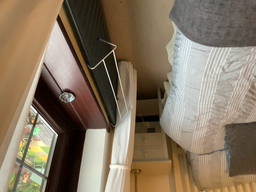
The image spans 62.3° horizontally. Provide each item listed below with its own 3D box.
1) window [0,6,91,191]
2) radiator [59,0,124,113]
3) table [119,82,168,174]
[{"bbox_3d":[-0.400,0.590,0.780,0.050,1.480,1.090,-4,144,7],"label":"window"},{"bbox_3d":[-0.200,-0.460,1.190,0.060,0.510,1.300,-6,144,10],"label":"radiator"},{"bbox_3d":[0.150,0.310,2.110,0.390,0.790,0.420,-3,144,5],"label":"table"}]
